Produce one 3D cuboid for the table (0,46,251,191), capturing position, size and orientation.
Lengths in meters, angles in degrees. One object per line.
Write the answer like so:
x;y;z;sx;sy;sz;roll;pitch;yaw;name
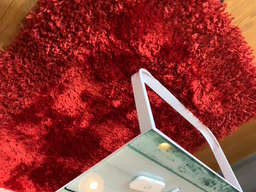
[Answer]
-0.170;0.410;0.940;1.100;0.340;0.600;-38;124;22;table
